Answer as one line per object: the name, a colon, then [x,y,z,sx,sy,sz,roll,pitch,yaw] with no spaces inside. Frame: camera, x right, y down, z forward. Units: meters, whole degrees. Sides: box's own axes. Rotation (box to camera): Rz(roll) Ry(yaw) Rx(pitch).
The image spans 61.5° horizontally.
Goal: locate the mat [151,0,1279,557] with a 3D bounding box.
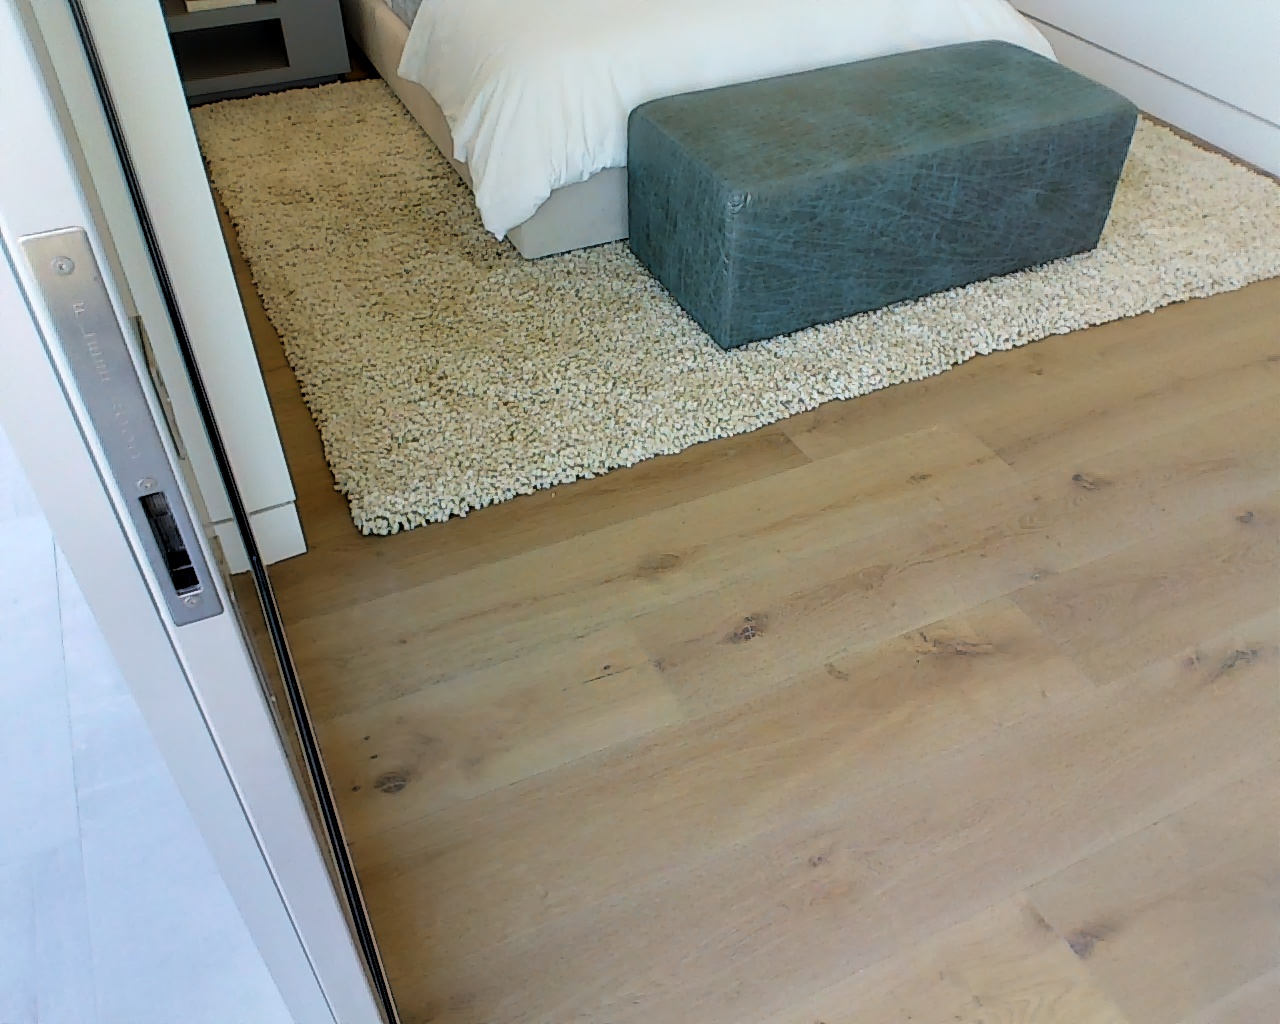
mat: [0.230,-1.280,3.680,3.300,0.090,2.900,-17,45,-18]
